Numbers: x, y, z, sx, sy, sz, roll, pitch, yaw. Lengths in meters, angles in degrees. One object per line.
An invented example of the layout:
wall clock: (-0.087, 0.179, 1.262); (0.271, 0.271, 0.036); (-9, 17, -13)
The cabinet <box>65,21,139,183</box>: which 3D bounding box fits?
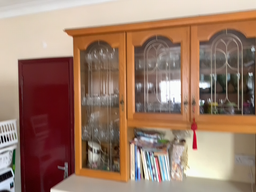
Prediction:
cabinet: (-0.220, 0.050, 1.930); (0.570, 1.290, 0.320); (0, 2, 18)
